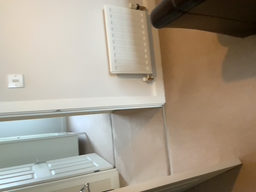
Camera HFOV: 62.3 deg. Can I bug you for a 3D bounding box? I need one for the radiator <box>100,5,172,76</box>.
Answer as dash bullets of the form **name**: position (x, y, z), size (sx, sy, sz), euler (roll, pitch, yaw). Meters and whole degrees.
- **radiator**: position (0.080, -0.440, 1.780), size (0.100, 0.590, 0.530), euler (-17, 77, 61)
